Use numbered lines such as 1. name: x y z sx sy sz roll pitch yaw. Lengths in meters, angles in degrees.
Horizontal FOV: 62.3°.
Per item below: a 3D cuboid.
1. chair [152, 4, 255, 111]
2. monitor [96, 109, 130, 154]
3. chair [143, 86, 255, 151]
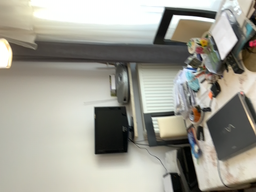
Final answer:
1. chair: 0.760 -0.240 1.430 0.390 1.070 0.540 107 160 -64
2. monitor: -0.160 0.360 2.210 0.040 0.340 0.450 142 127 -76
3. chair: 0.720 0.200 1.790 0.470 1.070 0.390 108 159 -65
